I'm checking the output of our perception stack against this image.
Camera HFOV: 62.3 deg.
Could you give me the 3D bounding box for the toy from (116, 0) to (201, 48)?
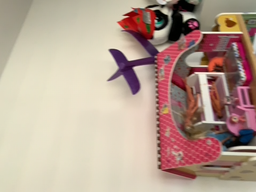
[{"bbox_3d":[0.140,-0.450,1.090,0.360,0.370,0.210,85,-173,-61],"label":"toy"}]
